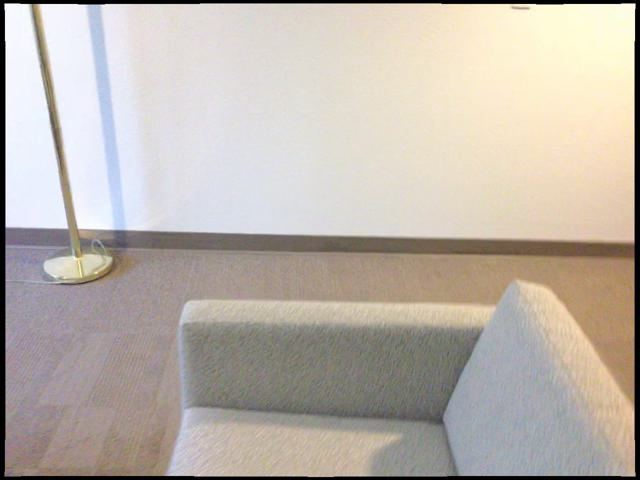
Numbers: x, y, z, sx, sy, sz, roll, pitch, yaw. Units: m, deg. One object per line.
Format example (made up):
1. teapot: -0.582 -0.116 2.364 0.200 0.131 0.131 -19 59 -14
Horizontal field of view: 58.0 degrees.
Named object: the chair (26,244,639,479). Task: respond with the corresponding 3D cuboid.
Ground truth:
1. chair: 0.050 0.571 0.990 0.858 0.751 0.940 1 29 -5
